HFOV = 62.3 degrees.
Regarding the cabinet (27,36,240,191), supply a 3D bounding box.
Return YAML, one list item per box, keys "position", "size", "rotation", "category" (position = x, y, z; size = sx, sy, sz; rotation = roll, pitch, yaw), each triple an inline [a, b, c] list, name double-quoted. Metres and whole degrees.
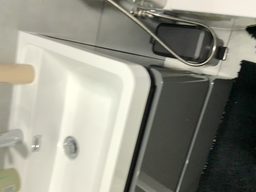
- position: [0.080, 0.150, 0.910]
  size: [0.430, 0.760, 0.600]
  rotation: [23, 106, 34]
  category: "cabinet"
